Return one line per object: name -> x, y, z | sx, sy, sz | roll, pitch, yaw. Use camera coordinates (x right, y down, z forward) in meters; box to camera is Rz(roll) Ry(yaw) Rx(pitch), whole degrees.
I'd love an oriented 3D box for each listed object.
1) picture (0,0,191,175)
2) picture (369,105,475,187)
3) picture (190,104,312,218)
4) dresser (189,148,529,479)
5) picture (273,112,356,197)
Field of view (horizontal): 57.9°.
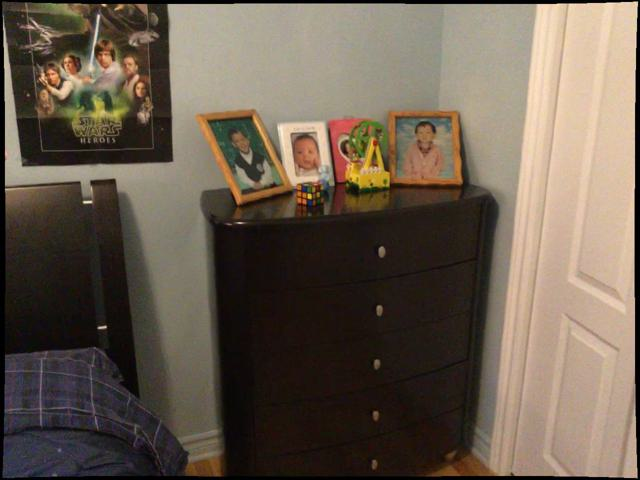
picture -> -0.619, -0.480, 1.630 | 0.450, 0.550, 0.060 | -9, 21, -21
picture -> 0.340, -0.330, 1.980 | 0.260, 0.220, 0.240 | -9, 21, -21
picture -> -0.210, -0.250, 1.740 | 0.290, 0.270, 0.270 | -9, 21, -21
dresser -> 0.110, 0.280, 1.920 | 0.909, 1.021, 0.480 | -9, 21, -21
picture -> -0.020, -0.280, 1.850 | 0.200, 0.220, 0.200 | -9, 21, -21
